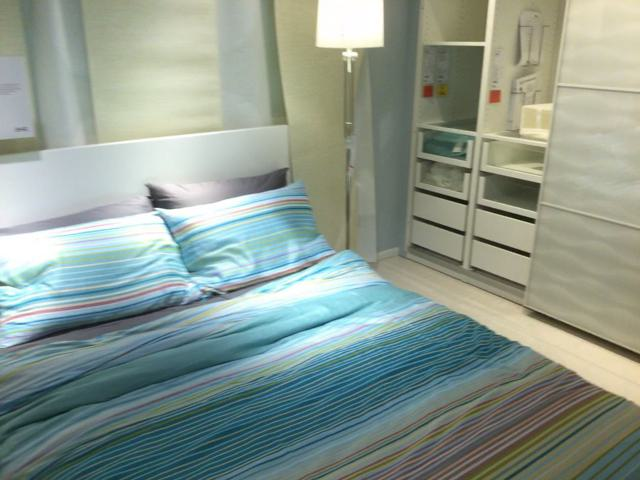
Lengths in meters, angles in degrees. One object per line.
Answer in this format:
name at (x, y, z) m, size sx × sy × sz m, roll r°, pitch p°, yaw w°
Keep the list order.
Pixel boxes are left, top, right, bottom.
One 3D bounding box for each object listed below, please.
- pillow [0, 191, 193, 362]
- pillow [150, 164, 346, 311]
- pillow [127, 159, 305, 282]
pillow at (-0.890, 0.120, 2.090) m, size 0.720 × 0.430 × 0.160 m, roll -16°, pitch -15°, yaw -29°
pillow at (-0.300, -0.030, 2.450) m, size 0.690 × 0.430 × 0.200 m, roll -16°, pitch -19°, yaw -29°
pillow at (-0.450, -0.110, 2.640) m, size 0.740 × 0.350 × 0.240 m, roll -16°, pitch 29°, yaw -30°
